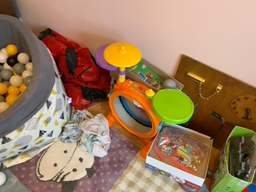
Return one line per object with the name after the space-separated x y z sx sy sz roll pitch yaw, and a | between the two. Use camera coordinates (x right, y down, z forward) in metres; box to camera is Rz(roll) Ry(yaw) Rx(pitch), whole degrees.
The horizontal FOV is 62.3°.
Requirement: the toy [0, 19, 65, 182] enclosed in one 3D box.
-0.790 0.010 1.110 0.800 0.420 0.760 -5 52 -8 | toy

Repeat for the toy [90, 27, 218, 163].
0.100 0.010 1.130 0.490 0.520 0.280 29 55 18 | toy

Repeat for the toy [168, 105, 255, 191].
0.550 0.370 1.010 0.590 0.290 0.290 31 55 20 | toy
